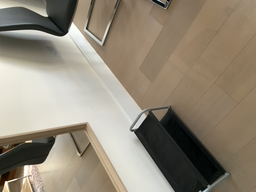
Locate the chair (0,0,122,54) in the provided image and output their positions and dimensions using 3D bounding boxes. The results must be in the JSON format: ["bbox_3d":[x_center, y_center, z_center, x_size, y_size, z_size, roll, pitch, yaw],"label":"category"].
[{"bbox_3d":[-0.640,-0.770,1.770,0.470,1.000,0.600,48,125,33],"label":"chair"}]
